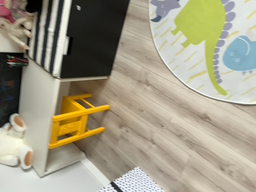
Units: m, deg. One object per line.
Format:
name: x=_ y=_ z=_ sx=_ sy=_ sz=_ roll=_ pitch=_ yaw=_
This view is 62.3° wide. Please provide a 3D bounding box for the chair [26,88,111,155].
chair: x=-0.510 y=0.180 z=1.830 sx=0.420 sy=0.530 sz=0.310 roll=28 pitch=114 yaw=34
